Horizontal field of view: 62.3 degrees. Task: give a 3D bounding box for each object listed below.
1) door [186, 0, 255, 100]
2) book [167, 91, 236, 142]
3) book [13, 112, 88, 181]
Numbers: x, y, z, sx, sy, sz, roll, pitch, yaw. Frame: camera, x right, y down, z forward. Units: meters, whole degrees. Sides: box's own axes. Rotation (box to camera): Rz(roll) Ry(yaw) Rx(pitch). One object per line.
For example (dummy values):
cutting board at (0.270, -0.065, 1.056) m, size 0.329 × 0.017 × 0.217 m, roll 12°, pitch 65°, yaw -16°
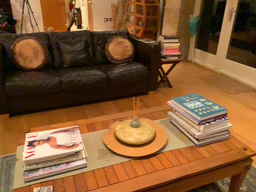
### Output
door at (1.800, -1.270, 3.010) m, size 0.090 × 2.510 × 2.460 m, roll -9°, pitch 28°, yaw -21°
book at (0.470, 0.120, 1.410) m, size 0.260 × 0.150 × 0.330 m, roll -9°, pitch 28°, yaw -21°
book at (-0.420, 0.250, 1.170) m, size 0.330 × 0.120 × 0.350 m, roll -8°, pitch 27°, yaw -19°
